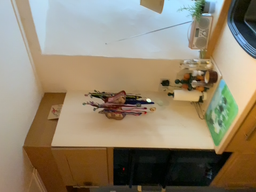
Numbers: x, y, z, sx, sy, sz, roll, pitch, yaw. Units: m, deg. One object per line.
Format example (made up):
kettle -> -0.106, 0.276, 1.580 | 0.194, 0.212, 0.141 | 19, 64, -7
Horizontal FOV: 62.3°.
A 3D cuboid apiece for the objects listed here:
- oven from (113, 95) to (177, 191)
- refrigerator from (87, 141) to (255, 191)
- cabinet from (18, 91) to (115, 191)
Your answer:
oven -> 0.100, 0.450, 1.970 | 0.560, 0.460, 0.720 | -91, 4, -48
refrigerator -> 0.540, 0.950, 2.480 | 0.490, 1.910, 0.670 | -91, 4, -48
cabinet -> -0.460, 0.430, 1.930 | 0.560, 0.650, 0.740 | -91, 4, -48
